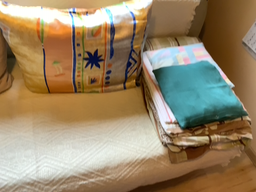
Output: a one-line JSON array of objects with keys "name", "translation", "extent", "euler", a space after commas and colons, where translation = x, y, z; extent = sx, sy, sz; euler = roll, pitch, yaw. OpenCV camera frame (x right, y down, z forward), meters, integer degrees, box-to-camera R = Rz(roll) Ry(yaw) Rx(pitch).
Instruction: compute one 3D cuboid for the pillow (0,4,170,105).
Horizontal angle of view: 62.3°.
[{"name": "pillow", "translation": [-0.210, -0.200, 1.000], "extent": [0.720, 0.380, 0.180], "euler": [-9, 52, -21]}]
